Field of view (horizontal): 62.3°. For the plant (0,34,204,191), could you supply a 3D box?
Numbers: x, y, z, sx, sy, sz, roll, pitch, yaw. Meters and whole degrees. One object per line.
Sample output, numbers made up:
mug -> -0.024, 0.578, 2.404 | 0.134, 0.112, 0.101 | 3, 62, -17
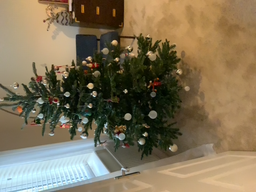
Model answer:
plant -> -0.330, 0.010, 2.140 | 0.920, 1.800, 1.100 | 31, 120, 60
